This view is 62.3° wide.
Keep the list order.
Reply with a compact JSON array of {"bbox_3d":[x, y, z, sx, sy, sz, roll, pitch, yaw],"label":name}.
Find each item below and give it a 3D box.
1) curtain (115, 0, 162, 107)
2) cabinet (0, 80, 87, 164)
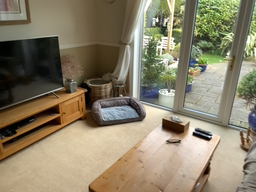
[{"bbox_3d":[0.140,-1.050,3.230,0.650,2.430,0.210,16,26,30],"label":"curtain"},{"bbox_3d":[-1.330,0.310,2.640,0.480,0.500,1.800,16,26,30],"label":"cabinet"}]
